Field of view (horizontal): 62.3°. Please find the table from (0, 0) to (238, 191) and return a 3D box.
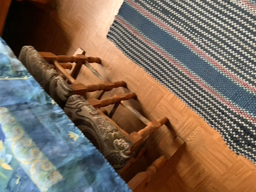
[{"bbox_3d":[-0.340,0.190,0.960,1.310,0.760,0.670,42,117,19],"label":"table"}]
